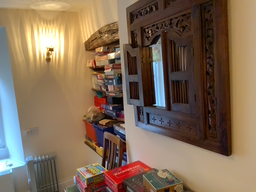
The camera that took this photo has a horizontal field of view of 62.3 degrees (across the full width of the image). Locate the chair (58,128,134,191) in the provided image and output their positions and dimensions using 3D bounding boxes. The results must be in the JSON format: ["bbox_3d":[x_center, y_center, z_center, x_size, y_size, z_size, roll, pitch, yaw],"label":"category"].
[{"bbox_3d":[-0.300,0.860,2.030,0.500,0.920,0.550,-9,10,-31],"label":"chair"}]

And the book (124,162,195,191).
[{"bbox_3d":[0.180,0.580,1.300,0.260,0.150,0.360,-9,10,-30],"label":"book"}]

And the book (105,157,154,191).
[{"bbox_3d":[0.010,0.580,1.570,0.280,0.110,0.220,-9,10,-30],"label":"book"}]
